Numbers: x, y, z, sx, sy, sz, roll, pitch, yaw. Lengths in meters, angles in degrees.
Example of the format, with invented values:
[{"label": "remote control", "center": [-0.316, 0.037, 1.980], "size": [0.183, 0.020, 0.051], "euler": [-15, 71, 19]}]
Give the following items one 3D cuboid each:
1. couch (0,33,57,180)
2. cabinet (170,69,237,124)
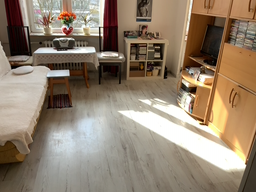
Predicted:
[{"label": "couch", "center": [-1.430, -0.100, 2.470], "size": [0.880, 0.950, 1.950], "euler": [-3, 25, -12]}, {"label": "cabinet", "center": [1.050, -0.040, 3.130], "size": [0.520, 0.500, 0.820], "euler": [-2, 24, -11]}]
